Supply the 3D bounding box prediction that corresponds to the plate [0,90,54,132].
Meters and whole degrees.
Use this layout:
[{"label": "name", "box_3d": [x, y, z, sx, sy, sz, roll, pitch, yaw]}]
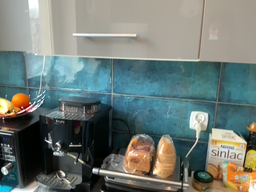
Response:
[{"label": "plate", "box_3d": [-0.550, 0.060, 1.060, 0.210, 0.110, 0.280, 5, 14, 14]}]
